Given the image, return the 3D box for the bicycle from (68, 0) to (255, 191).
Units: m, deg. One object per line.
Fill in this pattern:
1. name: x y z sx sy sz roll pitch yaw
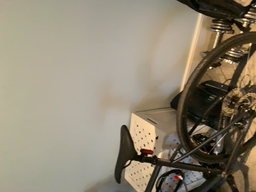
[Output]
1. bicycle: 0.230 0.450 1.240 0.650 0.930 1.780 31 119 49
